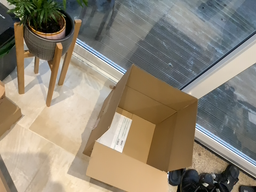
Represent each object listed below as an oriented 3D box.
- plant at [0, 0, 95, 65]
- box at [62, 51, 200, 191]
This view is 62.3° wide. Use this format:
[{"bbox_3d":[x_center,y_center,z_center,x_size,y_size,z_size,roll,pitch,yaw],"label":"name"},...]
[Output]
[{"bbox_3d":[-0.270,-0.380,0.700,0.280,0.430,0.270,29,56,-10],"label":"plant"},{"bbox_3d":[0.040,0.200,1.100,0.420,0.360,0.670,29,56,-10],"label":"box"}]
